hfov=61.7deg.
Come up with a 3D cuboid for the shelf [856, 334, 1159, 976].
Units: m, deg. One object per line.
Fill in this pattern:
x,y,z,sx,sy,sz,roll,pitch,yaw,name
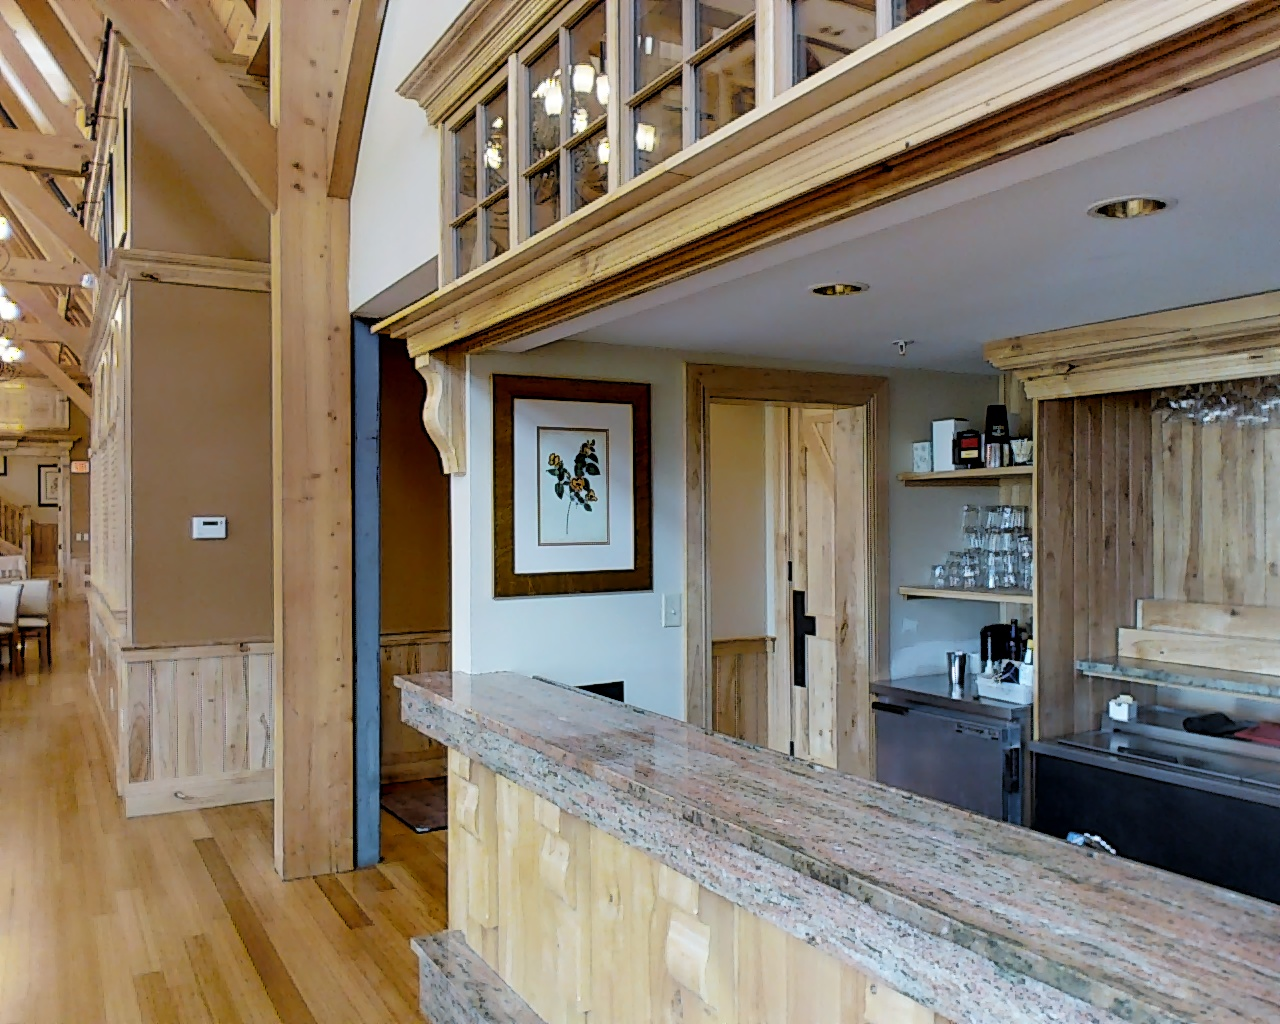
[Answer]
1.400,0.480,4.130,0.830,2.160,0.740,0,0,-30,shelf
